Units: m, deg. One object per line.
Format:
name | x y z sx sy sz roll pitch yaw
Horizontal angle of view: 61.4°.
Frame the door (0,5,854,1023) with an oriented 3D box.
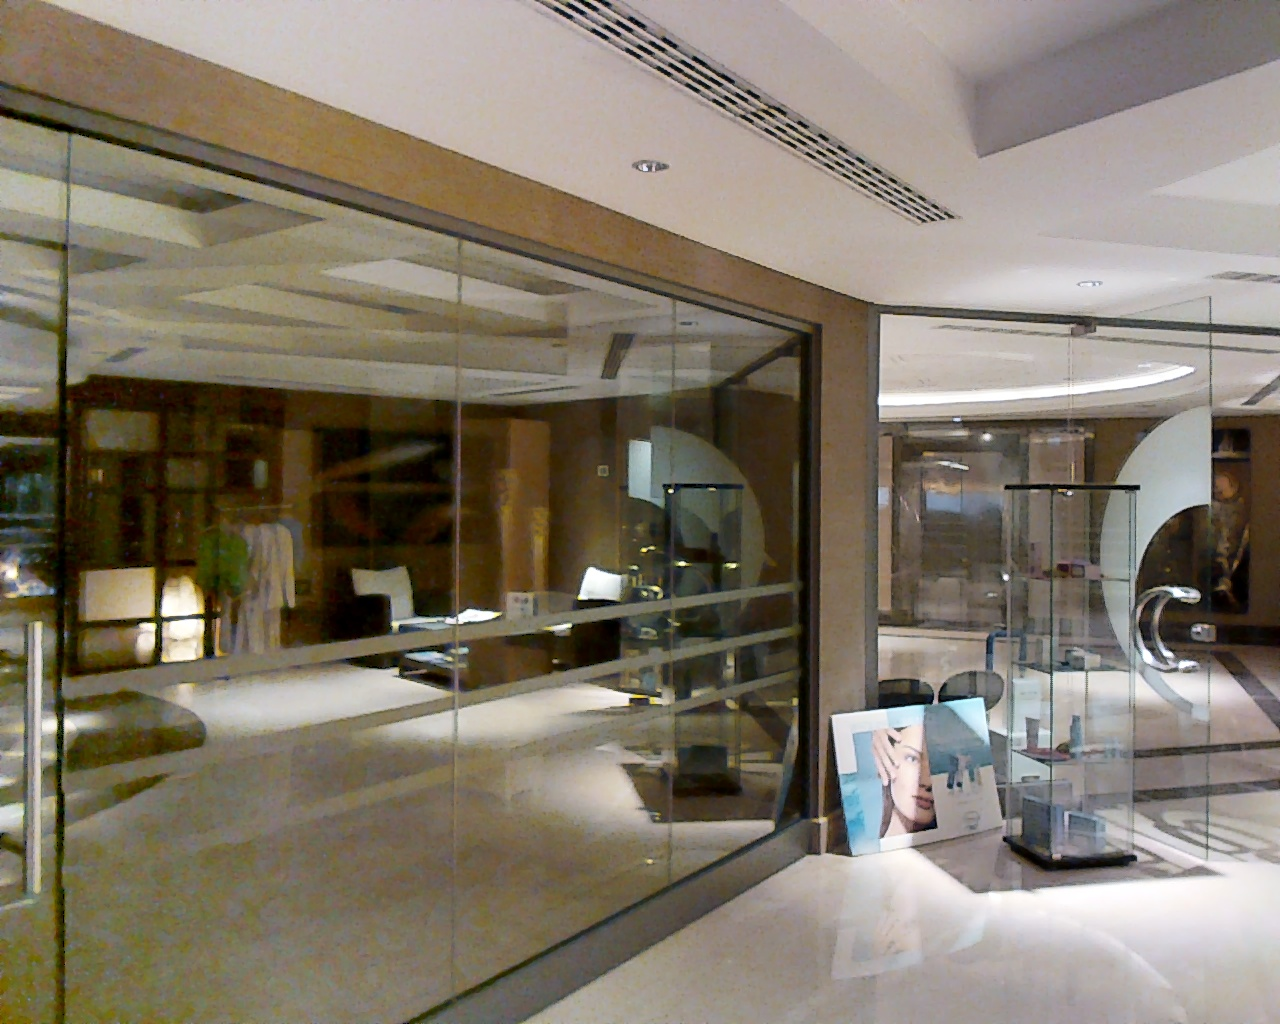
door | -0.540 0.340 2.960 0.220 2.501 4.780 0 0 36
